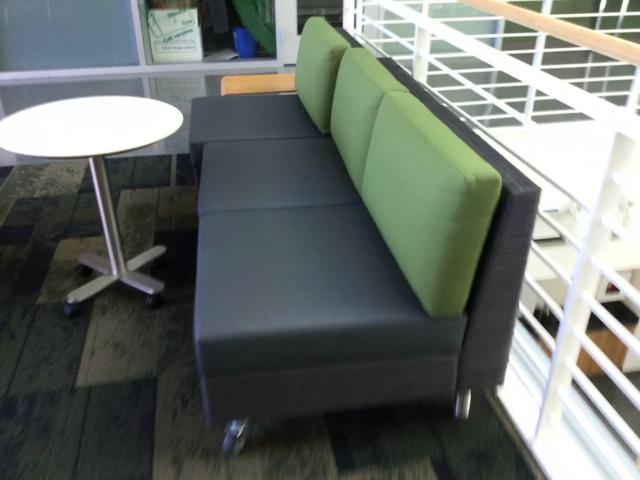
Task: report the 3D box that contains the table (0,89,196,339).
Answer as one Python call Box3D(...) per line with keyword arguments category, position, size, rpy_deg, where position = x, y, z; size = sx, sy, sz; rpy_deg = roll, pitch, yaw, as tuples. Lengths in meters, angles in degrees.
Box3D(category="table", position=(-0.790, -0.120, 2.120), size=(0.630, 0.680, 0.620), rpy_deg=(-1, 31, -11))

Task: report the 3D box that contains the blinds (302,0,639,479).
Box3D(category="blinds", position=(0.530, -0.020, 1.270), size=(0.360, 1.240, 4.980), rpy_deg=(-1, 31, -11))
